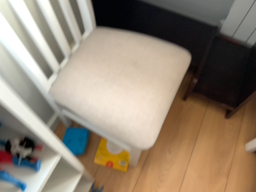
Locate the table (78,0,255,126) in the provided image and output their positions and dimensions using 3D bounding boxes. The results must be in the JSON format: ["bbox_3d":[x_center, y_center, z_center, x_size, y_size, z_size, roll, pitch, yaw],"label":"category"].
[{"bbox_3d":[0.280,-0.370,0.990,0.820,0.740,0.520,23,65,9],"label":"table"}]
